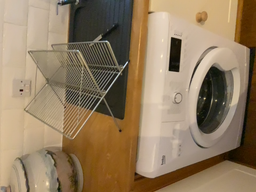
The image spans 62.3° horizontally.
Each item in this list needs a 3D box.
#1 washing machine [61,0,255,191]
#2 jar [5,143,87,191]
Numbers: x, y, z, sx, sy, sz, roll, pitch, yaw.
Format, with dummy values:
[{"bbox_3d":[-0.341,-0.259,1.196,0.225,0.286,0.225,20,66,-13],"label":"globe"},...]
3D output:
[{"bbox_3d":[0.200,-0.010,1.200,0.680,0.880,0.630,9,96,48],"label":"washing machine"},{"bbox_3d":[-0.410,0.540,1.030,0.280,0.280,0.520,11,98,48],"label":"jar"}]
